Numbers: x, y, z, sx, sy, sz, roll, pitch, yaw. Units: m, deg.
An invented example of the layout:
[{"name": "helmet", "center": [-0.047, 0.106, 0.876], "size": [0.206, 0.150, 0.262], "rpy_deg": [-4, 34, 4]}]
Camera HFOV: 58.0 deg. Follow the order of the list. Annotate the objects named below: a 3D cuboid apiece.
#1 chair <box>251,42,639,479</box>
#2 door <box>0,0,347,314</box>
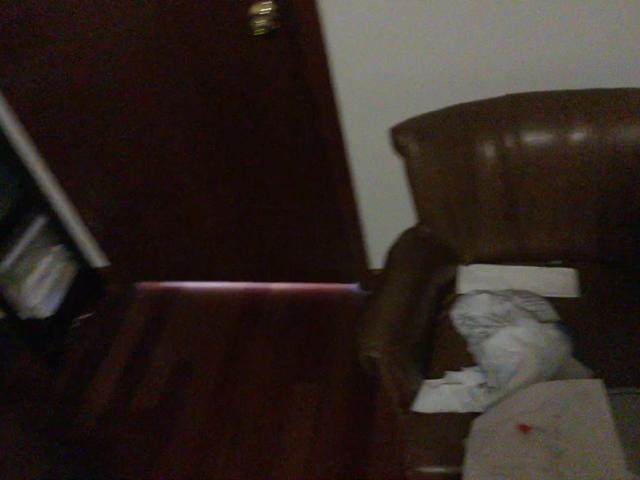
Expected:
[{"name": "chair", "center": [0.420, 0.180, 1.170], "size": [0.790, 0.830, 0.750], "rpy_deg": [-3, 41, 12]}, {"name": "door", "center": [-0.510, -0.520, 1.330], "size": [0.870, 1.930, 0.110], "rpy_deg": [-2, 41, 13]}]
